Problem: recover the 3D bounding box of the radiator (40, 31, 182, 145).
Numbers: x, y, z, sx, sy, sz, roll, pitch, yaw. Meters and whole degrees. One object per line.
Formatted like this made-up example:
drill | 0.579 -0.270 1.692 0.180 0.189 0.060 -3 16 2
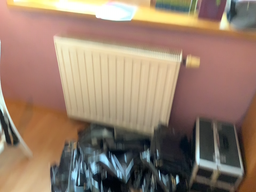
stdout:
radiator | -0.110 -0.040 1.440 0.810 0.660 0.190 10 37 9
